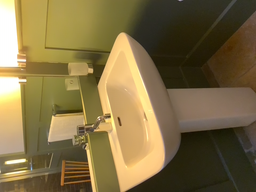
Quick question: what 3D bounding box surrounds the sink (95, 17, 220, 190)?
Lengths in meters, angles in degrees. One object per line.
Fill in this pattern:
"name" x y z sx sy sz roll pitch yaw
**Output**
"sink" 0.050 0.040 0.930 0.440 0.190 0.580 123 138 -50
